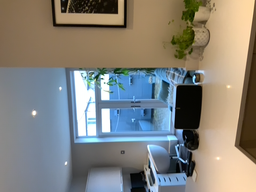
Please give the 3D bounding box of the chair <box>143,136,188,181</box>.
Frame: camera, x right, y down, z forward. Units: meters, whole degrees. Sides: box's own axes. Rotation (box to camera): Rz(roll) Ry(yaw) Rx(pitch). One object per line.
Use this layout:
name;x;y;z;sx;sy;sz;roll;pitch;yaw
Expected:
chair;0.820;1.400;4.840;0.690;0.820;0.690;-104;15;-72

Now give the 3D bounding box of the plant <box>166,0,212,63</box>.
plant;0.440;-0.530;1.570;0.200;0.240;0.540;-104;14;-72

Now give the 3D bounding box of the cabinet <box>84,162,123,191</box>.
cabinet;-0.530;1.960;4.740;1.150;0.790;0.320;-106;16;-73
